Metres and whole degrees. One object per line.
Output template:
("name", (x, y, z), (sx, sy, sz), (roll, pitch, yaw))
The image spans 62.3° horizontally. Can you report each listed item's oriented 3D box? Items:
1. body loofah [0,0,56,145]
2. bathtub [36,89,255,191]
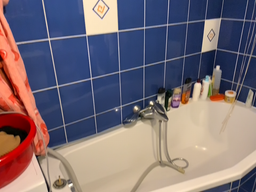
("body loofah", (-0.570, -0.240, 0.830), (0.370, 0.890, 0.180), (-21, 31, -35))
("bathtub", (0.340, 0.540, 1.480), (1.590, 0.610, 0.740), (-17, 29, -30))
